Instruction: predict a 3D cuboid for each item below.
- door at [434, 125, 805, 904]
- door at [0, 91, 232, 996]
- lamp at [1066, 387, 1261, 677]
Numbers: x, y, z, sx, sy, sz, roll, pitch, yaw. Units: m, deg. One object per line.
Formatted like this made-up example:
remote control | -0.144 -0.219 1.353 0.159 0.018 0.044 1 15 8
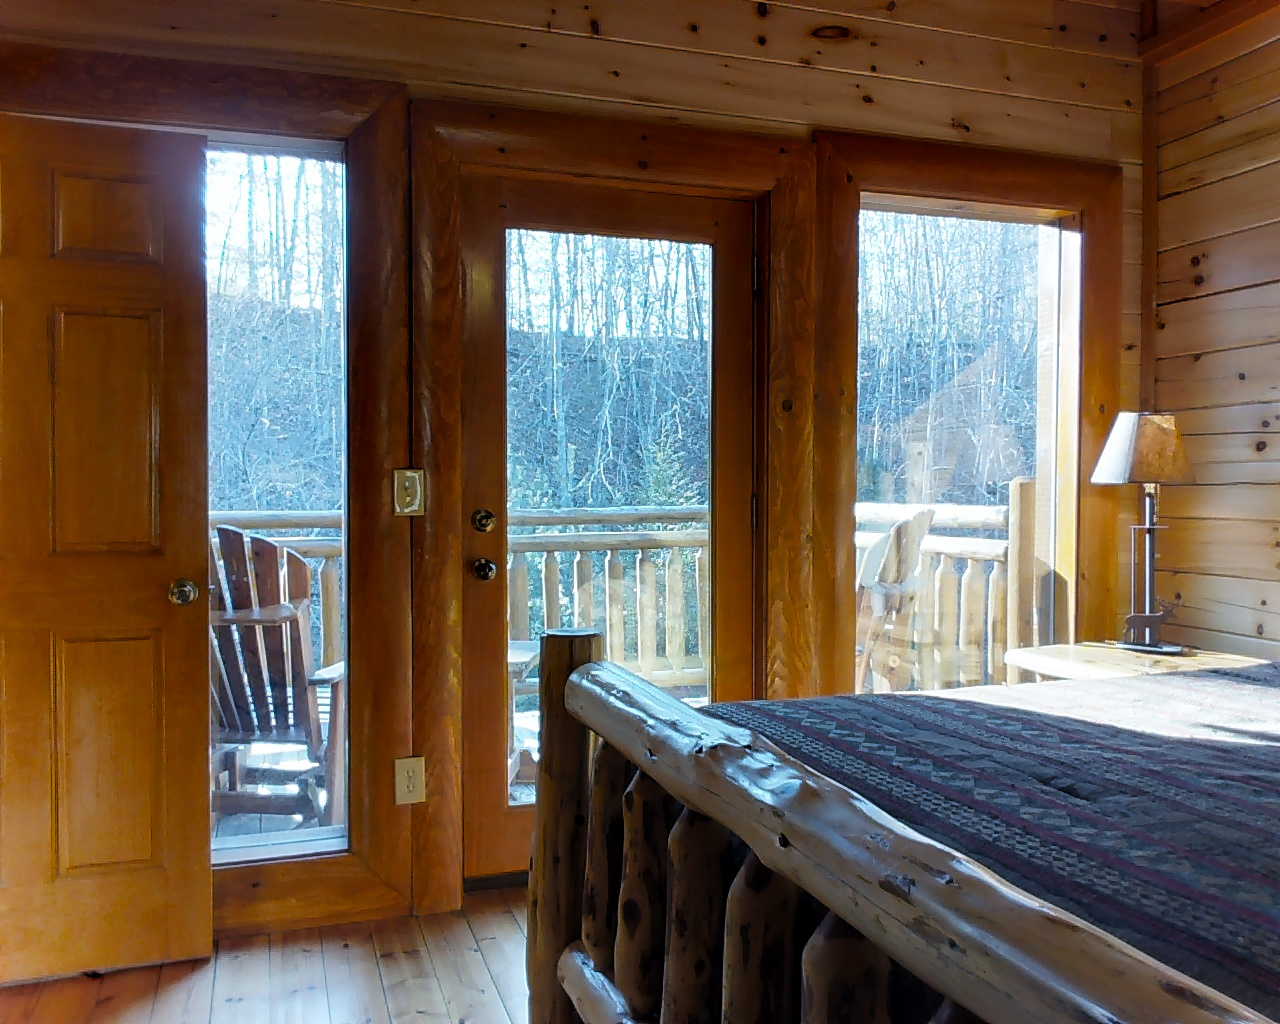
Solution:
door | -0.040 0.000 3.180 1.040 2.121 0.180 -2 2 -19
door | -1.440 0.080 2.500 0.850 2.071 0.050 -2 2 -20
lamp | 1.659 0.050 3.430 0.410 0.860 0.360 -3 2 -17
